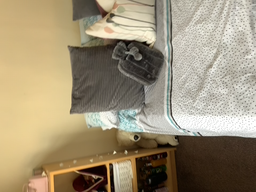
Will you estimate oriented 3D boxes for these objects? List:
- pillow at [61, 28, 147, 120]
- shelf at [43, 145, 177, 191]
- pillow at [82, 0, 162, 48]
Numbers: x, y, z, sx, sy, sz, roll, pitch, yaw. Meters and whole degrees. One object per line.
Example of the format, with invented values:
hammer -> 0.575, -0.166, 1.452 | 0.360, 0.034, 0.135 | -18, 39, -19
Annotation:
pillow -> -0.180, -0.130, 1.390 | 0.470, 0.380, 0.470 | 8, 98, 56
shelf -> -0.100, 0.690, 1.680 | 0.310, 1.020, 0.430 | -7, 84, 57
pillow -> -0.050, -0.540, 1.320 | 0.400, 0.330, 0.410 | 13, 101, 56
